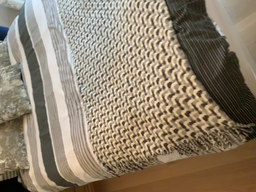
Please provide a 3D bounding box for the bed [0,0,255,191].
[{"bbox_3d":[-0.300,-0.220,1.650,2.130,0.750,1.570,-31,69,39],"label":"bed"}]
